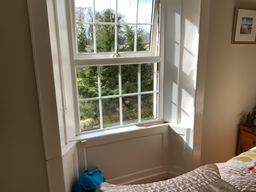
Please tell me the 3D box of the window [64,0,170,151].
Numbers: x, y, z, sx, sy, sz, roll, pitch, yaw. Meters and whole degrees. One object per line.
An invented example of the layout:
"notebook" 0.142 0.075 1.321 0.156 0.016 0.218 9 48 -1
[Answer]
"window" -0.080 -0.260 2.160 0.970 1.490 0.240 -6 15 -19
